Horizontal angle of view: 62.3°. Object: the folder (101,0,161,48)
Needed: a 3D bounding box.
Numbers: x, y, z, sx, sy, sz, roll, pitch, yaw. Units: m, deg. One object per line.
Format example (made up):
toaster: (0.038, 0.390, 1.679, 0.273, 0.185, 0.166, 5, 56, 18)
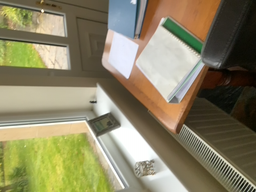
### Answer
folder: (0.010, -0.520, 1.240, 0.360, 0.130, 0.360, 43, 124, 47)
